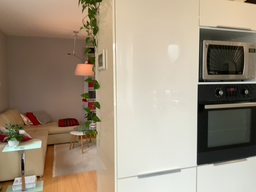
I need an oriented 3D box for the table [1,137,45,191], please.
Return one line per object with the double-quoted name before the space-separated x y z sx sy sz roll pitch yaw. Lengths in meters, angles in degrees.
"table" -1.490 0.950 3.070 0.500 0.590 0.410 -1 4 -19
